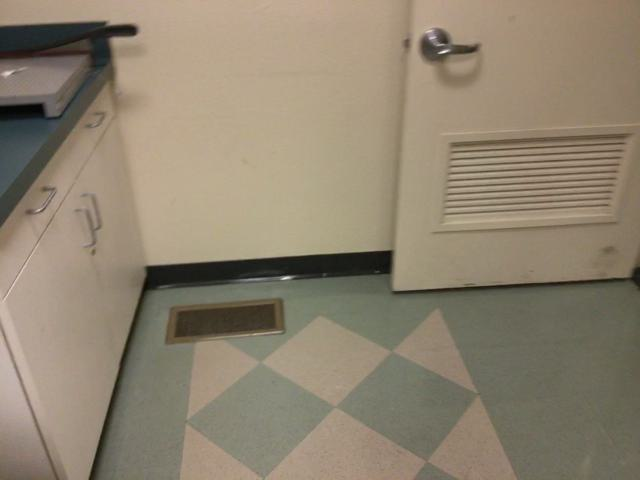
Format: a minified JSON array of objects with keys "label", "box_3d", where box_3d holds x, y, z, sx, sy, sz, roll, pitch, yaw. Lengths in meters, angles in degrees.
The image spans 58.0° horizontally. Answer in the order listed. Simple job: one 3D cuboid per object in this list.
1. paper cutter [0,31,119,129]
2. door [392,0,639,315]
[{"label":"paper cutter","box_3d":[-0.820,-0.410,1.470,0.490,0.110,0.490,-6,30,-4]},{"label":"door","box_3d":[0.700,-0.770,1.590,0.970,2.180,0.180,-6,30,-3]}]
